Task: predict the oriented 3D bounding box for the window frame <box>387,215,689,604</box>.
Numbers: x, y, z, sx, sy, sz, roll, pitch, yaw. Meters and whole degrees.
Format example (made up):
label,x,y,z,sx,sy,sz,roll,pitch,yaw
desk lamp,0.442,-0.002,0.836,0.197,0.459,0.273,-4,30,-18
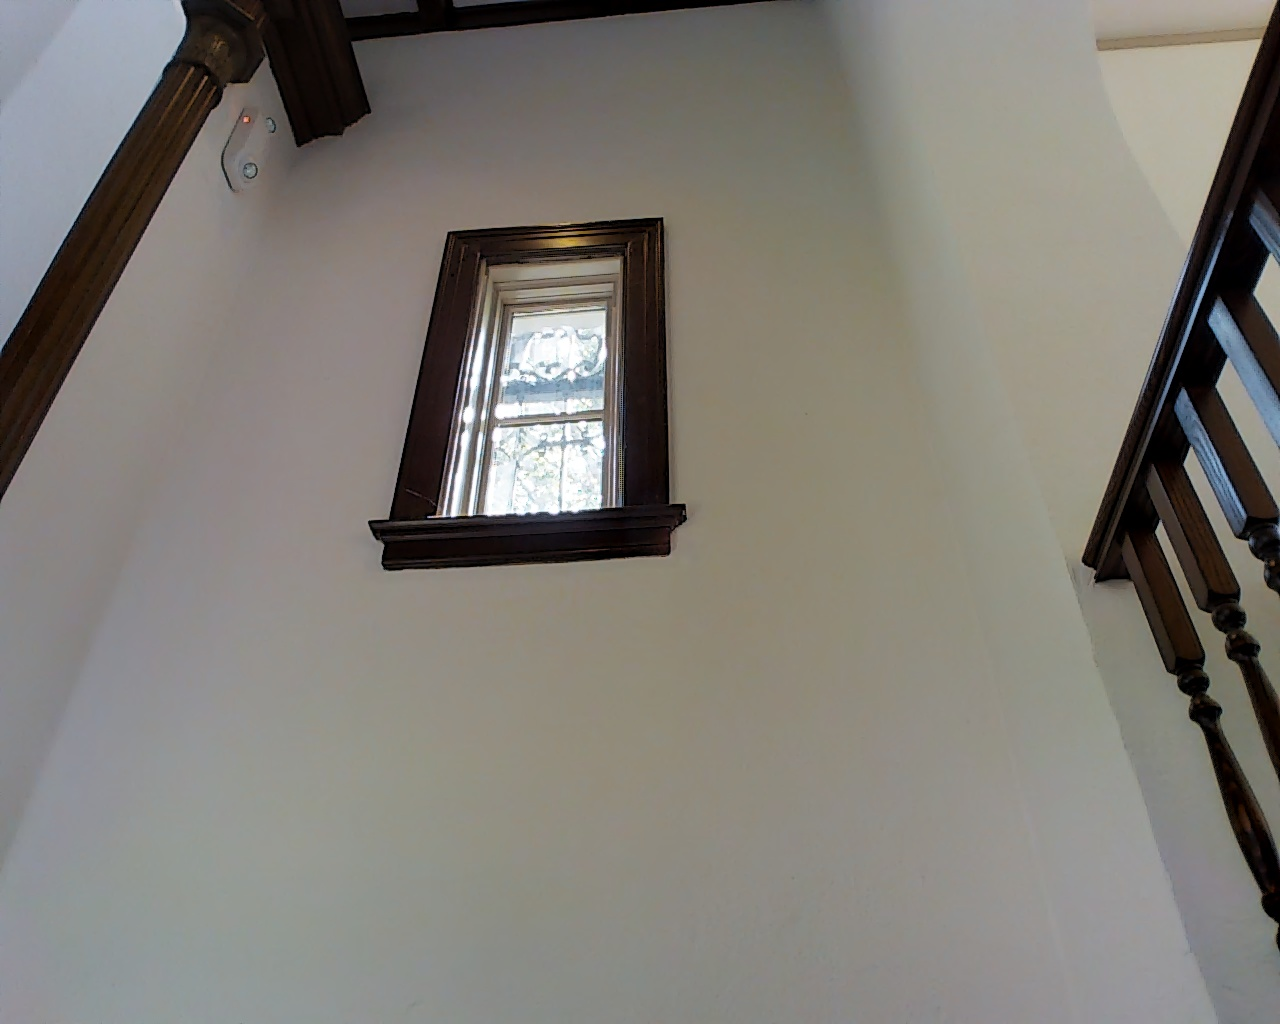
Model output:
label,x,y,z,sx,sy,sz,roll,pitch,yaw
window frame,-0.240,-0.360,3.060,0.710,1.380,0.160,-3,-42,4
